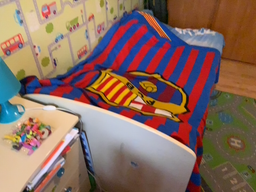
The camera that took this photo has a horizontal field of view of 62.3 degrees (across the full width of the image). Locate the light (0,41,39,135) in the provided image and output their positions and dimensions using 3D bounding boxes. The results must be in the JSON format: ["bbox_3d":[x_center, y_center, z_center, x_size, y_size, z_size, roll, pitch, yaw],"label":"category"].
[{"bbox_3d":[-0.570,-0.040,0.890,0.180,0.300,0.240,17,44,19],"label":"light"}]
